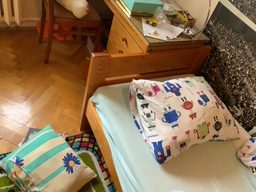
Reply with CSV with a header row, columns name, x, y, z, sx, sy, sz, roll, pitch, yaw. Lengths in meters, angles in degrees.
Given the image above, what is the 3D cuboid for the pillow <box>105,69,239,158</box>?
name,x,y,z,sx,sy,sz,roll,pitch,yaw
pillow,0.210,0.050,1.050,0.540,0.140,0.360,-7,50,-27
